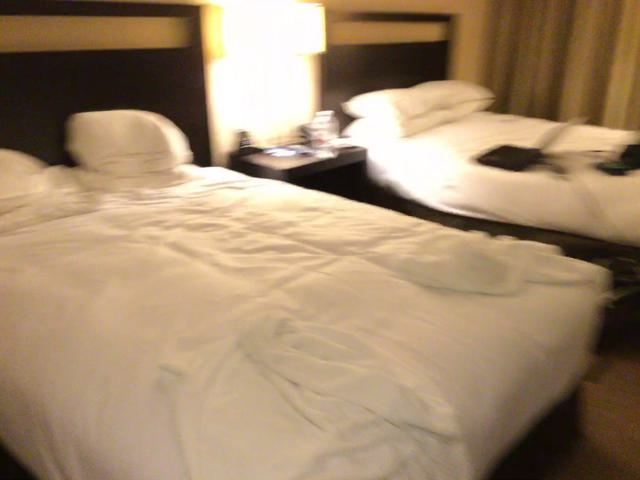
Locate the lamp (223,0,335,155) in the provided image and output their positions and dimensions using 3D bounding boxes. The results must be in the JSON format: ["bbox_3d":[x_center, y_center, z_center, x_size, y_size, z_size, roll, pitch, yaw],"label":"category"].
[{"bbox_3d":[-0.220,-0.920,3.220,0.360,0.780,0.480,19,27,39],"label":"lamp"}]

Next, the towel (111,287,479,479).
[{"bbox_3d":[-0.050,0.320,1.150,0.530,0.160,0.480,19,27,39],"label":"towel"}]

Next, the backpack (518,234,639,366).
[{"bbox_3d":[1.310,0.250,2.710,0.520,0.330,0.500,19,27,39],"label":"backpack"}]

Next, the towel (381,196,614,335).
[{"bbox_3d":[0.550,0.040,1.770,0.460,0.150,0.580,19,27,39],"label":"towel"}]
